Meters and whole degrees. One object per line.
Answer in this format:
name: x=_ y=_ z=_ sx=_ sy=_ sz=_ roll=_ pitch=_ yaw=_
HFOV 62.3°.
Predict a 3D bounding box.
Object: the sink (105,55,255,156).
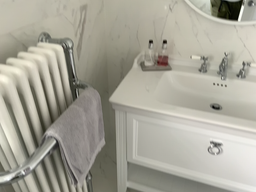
sink: x=0.460 y=0.020 z=1.080 sx=1.010 sy=0.140 sz=0.540 roll=10 pitch=35 yaw=15
